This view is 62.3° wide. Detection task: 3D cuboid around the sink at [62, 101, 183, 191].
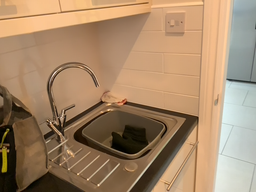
[{"bbox_3d":[-0.020,0.210,1.050,0.470,0.170,0.340,11,28,32],"label":"sink"}]
